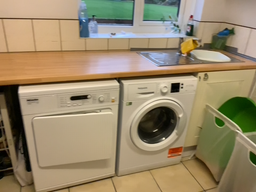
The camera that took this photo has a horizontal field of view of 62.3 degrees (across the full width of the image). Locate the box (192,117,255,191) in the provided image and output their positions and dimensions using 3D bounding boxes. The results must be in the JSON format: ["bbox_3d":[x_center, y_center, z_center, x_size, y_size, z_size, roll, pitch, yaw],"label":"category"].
[{"bbox_3d":[0.910,0.540,1.450,0.640,0.590,0.490,-7,28,-22],"label":"box"}]

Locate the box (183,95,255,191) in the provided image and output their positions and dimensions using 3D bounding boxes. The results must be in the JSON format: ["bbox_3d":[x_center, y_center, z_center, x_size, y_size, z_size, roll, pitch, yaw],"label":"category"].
[{"bbox_3d":[0.880,0.380,1.770,0.540,0.570,0.480,-8,28,-22],"label":"box"}]

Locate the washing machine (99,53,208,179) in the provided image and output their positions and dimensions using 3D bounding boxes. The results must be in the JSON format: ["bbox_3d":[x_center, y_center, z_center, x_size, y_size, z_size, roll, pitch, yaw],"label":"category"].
[{"bbox_3d":[0.140,0.120,1.930,0.660,0.840,0.680,-6,28,-19],"label":"washing machine"}]
